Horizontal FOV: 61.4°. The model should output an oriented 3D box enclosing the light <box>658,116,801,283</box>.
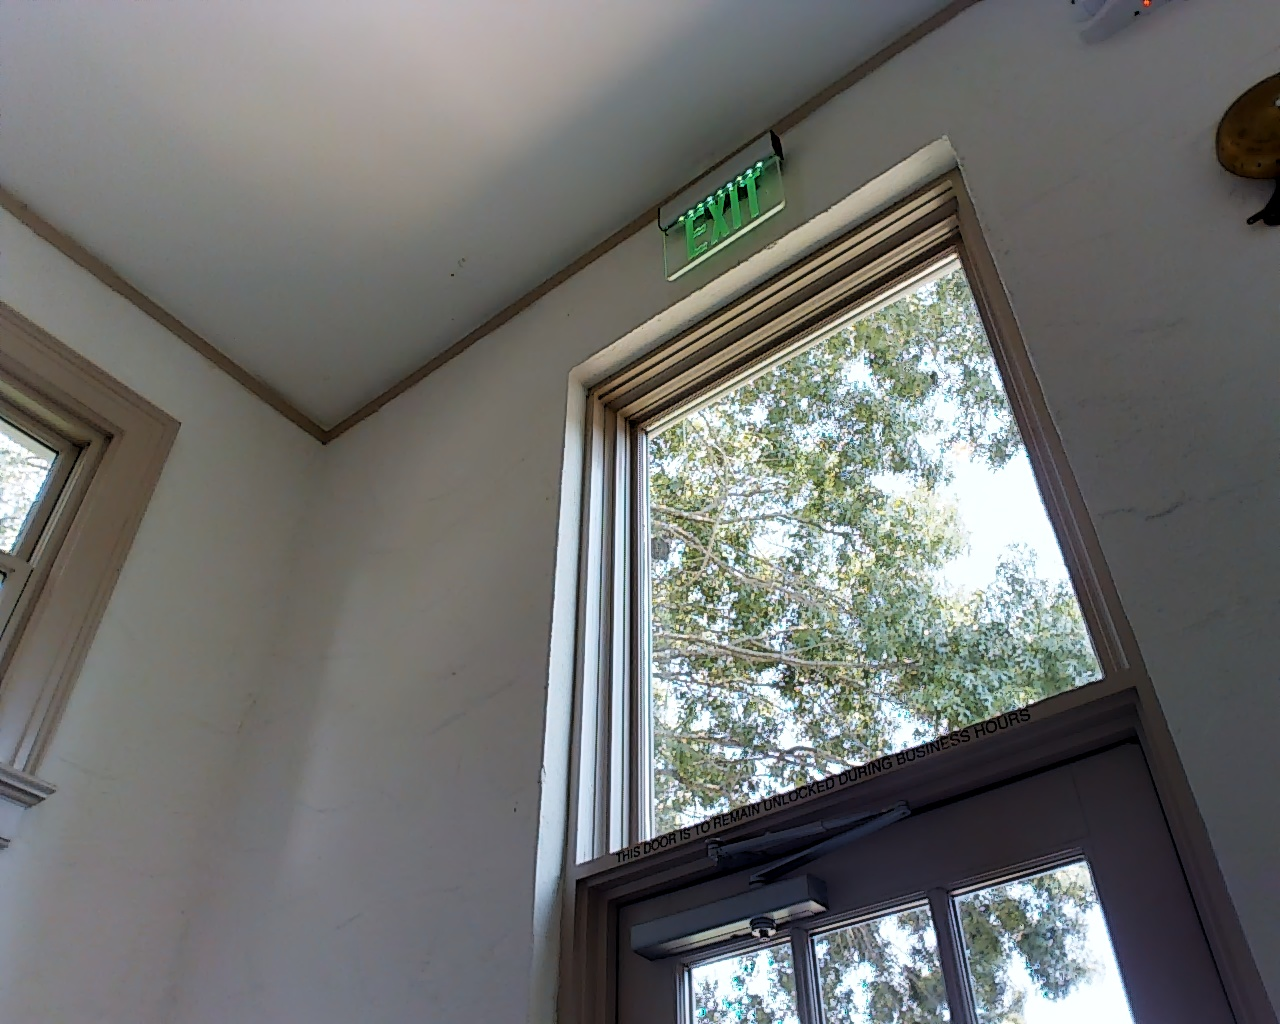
[{"bbox_3d":[0.200,-0.730,2.520,0.330,0.280,0.080,-27,-49,27],"label":"light"}]
